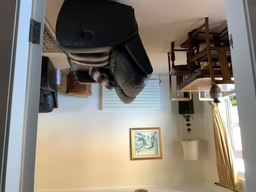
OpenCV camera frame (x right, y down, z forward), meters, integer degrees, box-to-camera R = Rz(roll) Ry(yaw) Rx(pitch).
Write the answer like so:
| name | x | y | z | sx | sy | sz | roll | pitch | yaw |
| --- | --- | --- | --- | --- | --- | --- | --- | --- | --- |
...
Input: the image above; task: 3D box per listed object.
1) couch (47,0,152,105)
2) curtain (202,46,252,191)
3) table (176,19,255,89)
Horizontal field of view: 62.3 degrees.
| name | x | y | z | sx | sy | sz | roll | pitch | yaw |
| --- | --- | --- | --- | --- | --- | --- | --- | --- | --- |
| couch | -0.340 | -0.480 | 2.860 | 1.010 | 0.980 | 1.480 | 0 | 169 | -5 |
| curtain | 1.810 | 0.420 | 4.020 | 0.300 | 2.590 | 0.710 | 0 | 170 | -7 |
| table | 1.400 | -0.580 | 3.230 | 1.080 | 0.770 | 0.810 | 1 | 170 | -6 |
